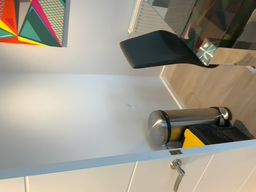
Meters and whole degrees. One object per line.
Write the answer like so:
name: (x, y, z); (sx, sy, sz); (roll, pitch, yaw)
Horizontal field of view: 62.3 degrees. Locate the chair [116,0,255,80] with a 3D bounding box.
chair: (0.510, -0.480, 1.430); (0.440, 1.010, 0.570); (-111, 30, -42)
